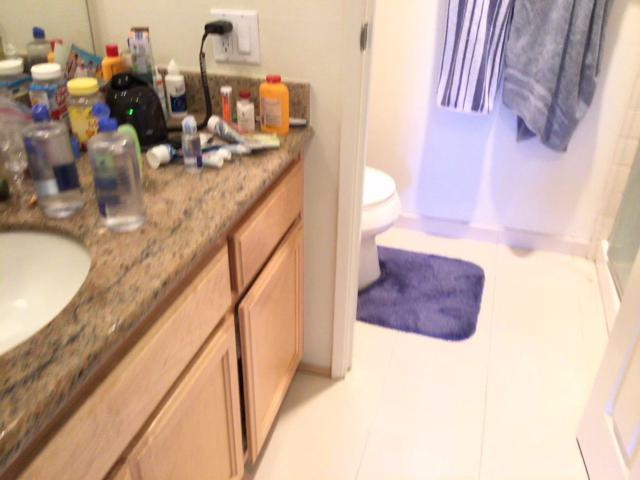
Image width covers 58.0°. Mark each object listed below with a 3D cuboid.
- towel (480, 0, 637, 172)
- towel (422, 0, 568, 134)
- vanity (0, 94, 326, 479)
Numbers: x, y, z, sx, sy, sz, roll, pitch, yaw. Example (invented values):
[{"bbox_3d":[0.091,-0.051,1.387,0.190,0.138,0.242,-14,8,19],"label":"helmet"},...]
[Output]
[{"bbox_3d":[0.800,-0.660,1.940,0.380,0.800,0.190,11,31,17],"label":"towel"},{"bbox_3d":[0.610,-0.750,1.990,0.420,0.700,0.150,11,31,17],"label":"towel"},{"bbox_3d":[-0.470,0.290,1.150,0.590,0.770,1.240,11,31,14],"label":"vanity"}]
